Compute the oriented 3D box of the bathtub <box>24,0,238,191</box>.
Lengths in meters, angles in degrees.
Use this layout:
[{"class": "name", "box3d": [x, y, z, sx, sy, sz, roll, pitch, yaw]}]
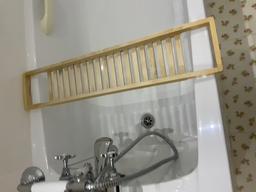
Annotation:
[{"class": "bathtub", "box3d": [0.000, -0.400, 0.990, 0.690, 0.560, 1.660, -9, 83, 24]}]
